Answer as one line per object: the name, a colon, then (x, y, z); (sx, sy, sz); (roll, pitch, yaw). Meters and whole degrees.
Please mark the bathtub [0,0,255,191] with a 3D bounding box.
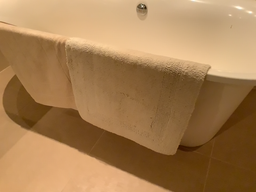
bathtub: (-0.030, -0.230, 1.280); (1.760, 0.640, 0.810); (16, 45, 19)
